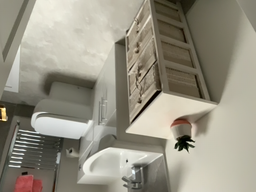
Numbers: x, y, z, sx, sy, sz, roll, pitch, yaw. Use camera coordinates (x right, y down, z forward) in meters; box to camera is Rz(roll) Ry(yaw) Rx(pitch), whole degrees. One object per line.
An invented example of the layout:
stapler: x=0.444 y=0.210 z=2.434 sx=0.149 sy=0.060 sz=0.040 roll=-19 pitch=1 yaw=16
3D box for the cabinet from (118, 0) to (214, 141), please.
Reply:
cabinet: x=0.160 y=-0.210 z=1.320 sx=0.280 sy=0.830 sz=0.430 roll=12 pitch=143 yaw=-21
